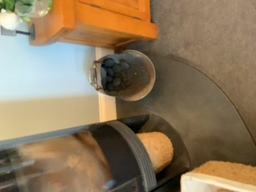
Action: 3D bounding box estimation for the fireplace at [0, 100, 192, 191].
[{"bbox_3d":[-0.190,0.330,1.050,0.390,1.000,0.390,54,128,28],"label":"fireplace"}]
